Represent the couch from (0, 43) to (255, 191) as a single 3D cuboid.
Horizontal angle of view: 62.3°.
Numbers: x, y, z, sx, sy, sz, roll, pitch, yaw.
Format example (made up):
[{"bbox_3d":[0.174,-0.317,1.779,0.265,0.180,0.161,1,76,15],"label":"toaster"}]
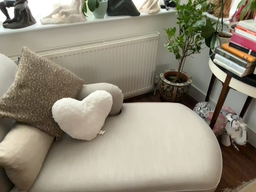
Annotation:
[{"bbox_3d":[-0.180,0.230,1.290,1.440,0.830,0.740,0,36,-4],"label":"couch"}]
